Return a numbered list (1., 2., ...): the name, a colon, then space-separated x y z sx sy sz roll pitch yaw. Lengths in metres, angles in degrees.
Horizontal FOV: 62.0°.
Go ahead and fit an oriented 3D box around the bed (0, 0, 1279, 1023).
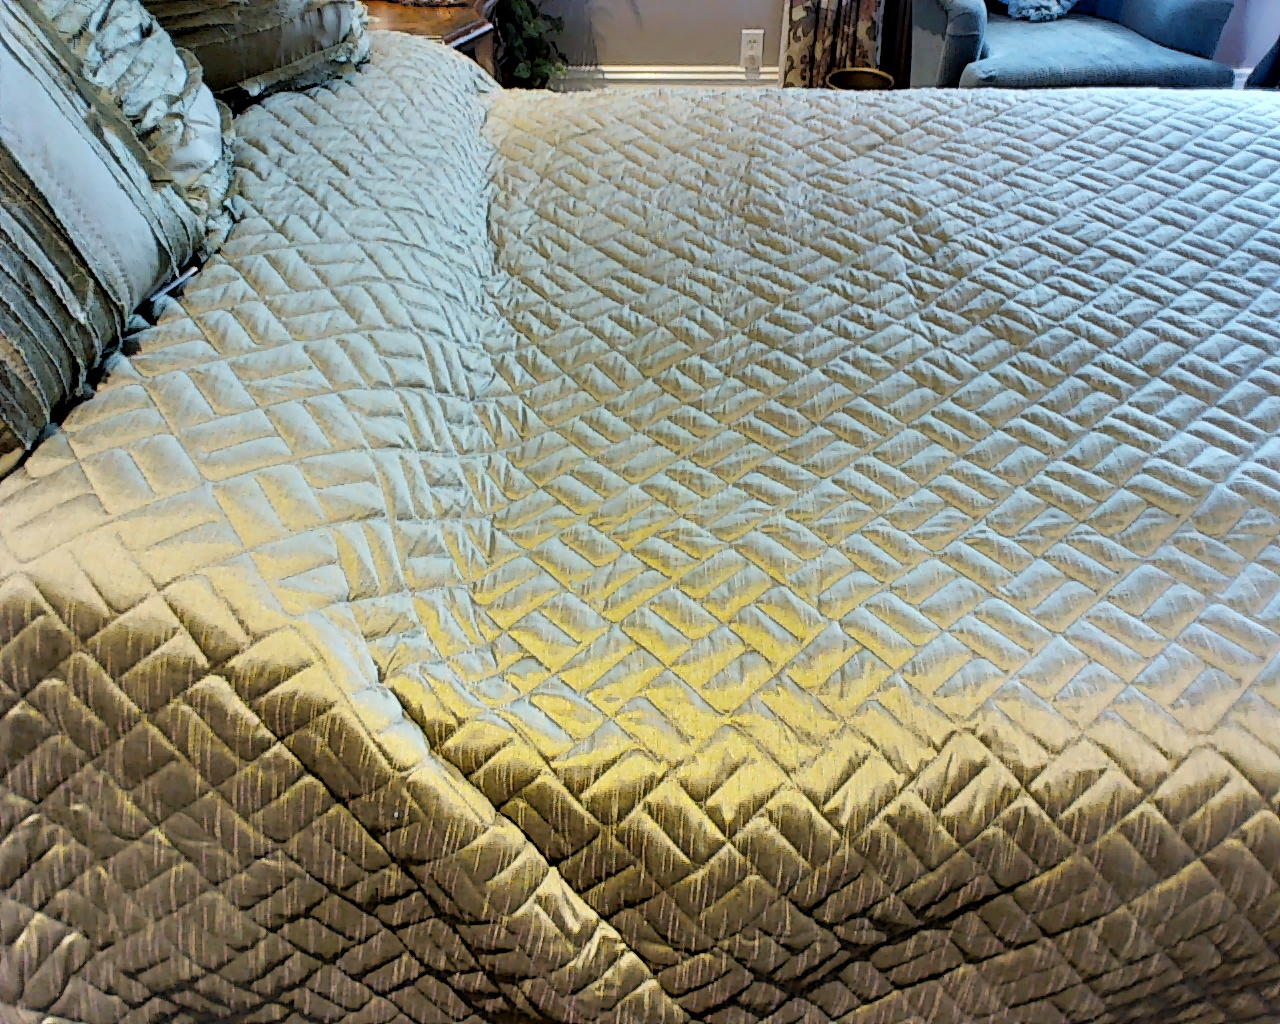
1. bed: 0.390 -0.390 1.260 2.610 1.760 2.060 0 42 1
